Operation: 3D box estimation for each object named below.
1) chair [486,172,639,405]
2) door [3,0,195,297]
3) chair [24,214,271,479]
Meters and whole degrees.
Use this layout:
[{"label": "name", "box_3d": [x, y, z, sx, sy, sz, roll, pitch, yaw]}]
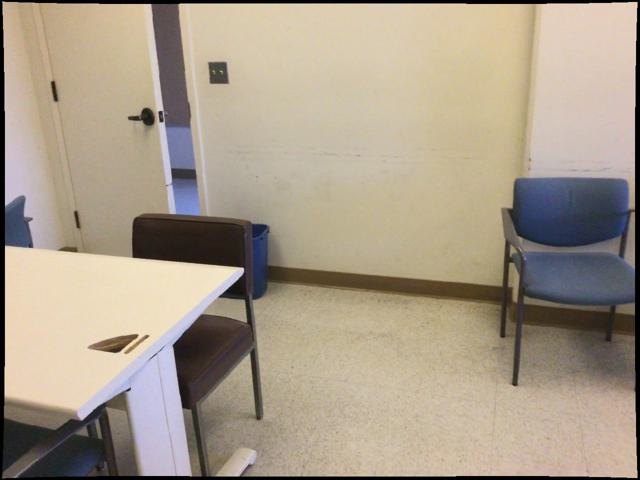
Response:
[{"label": "chair", "box_3d": [1.047, 0.160, 2.420, 0.609, 0.752, 0.590, 4, 22, 18]}, {"label": "door", "box_3d": [-1.287, -0.541, 3.370, 1.118, 1.644, 0.120, 10, 24, 31]}, {"label": "chair", "box_3d": [-0.539, 0.381, 2.020, 0.499, 0.782, 0.560, 4, 22, 18]}]
